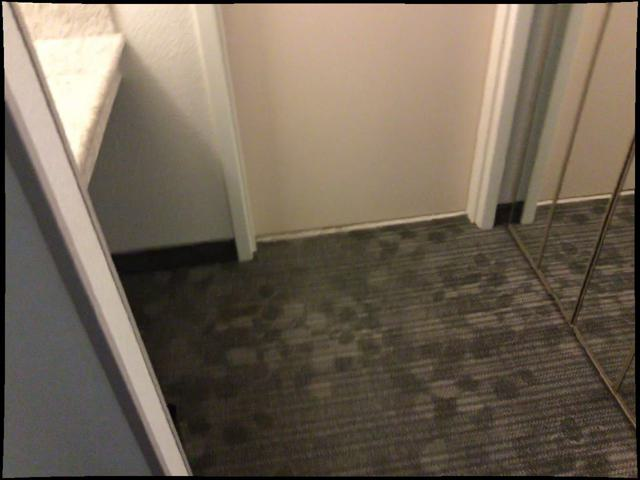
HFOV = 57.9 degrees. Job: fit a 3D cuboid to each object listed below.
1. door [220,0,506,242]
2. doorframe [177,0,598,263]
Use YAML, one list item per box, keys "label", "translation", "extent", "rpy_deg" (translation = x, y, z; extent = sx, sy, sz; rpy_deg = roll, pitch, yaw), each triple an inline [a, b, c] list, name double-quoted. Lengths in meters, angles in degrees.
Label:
- label: "door"
  translation: [0.140, -0.501, 1.880]
  extent: [0.849, 1.111, 0.080]
  rpy_deg: [-6, 38, -6]
- label: "doorframe"
  translation: [0.210, -0.501, 1.840]
  extent: [1.199, 1.171, 0.180]
  rpy_deg: [-6, 38, -6]
